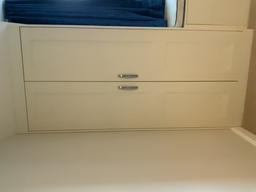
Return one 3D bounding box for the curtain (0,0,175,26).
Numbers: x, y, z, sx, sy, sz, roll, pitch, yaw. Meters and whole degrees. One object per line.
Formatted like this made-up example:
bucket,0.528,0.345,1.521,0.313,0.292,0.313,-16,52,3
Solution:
curtain,-0.410,-0.910,2.280,0.370,1.750,0.250,-107,17,-71
